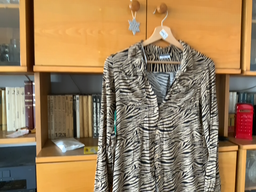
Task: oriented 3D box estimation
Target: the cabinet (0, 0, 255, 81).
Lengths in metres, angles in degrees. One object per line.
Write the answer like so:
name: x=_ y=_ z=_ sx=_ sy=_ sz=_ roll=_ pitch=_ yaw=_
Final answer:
cabinet: x=0.060 y=-0.330 z=1.000 sx=2.510 sy=0.490 sz=0.440 roll=0 pitch=3 yaw=-12
